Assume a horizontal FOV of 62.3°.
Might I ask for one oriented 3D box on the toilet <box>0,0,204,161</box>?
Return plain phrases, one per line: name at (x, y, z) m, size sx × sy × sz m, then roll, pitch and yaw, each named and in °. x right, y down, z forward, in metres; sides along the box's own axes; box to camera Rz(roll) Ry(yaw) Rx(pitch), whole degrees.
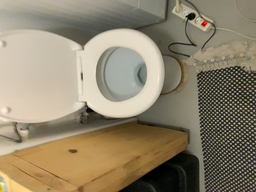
toilet at (-0.120, -0.100, 0.940) m, size 0.620 × 0.810 × 0.370 m, roll 5°, pitch 98°, yaw 37°
